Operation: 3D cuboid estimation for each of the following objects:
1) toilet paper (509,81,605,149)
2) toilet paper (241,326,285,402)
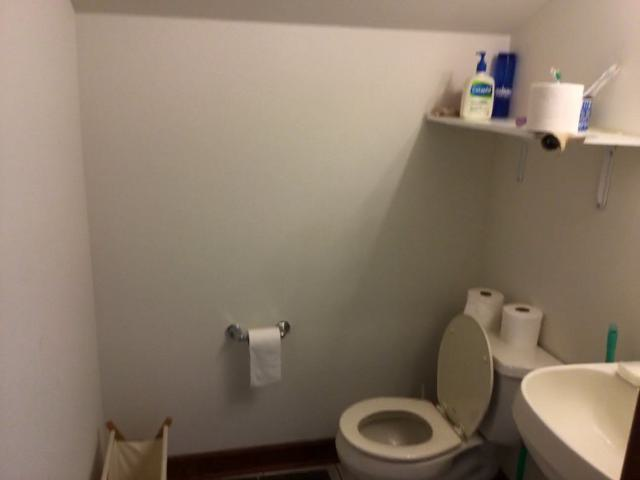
[{"bbox_3d":[0.580,-0.310,1.430,0.140,0.150,0.150,0,13,-14],"label":"toilet paper"},{"bbox_3d":[-0.210,0.450,2.110,0.140,0.250,0.090,0,13,-14],"label":"toilet paper"}]
